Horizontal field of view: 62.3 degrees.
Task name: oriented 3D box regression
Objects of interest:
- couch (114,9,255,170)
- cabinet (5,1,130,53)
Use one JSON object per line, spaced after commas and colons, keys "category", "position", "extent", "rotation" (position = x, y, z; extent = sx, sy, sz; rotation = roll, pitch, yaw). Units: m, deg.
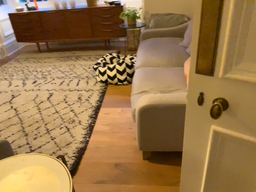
{"category": "couch", "position": [0.540, -0.330, 2.240], "extent": [1.040, 0.750, 2.100], "rotation": [-1, 30, 5]}
{"category": "cabinet", "position": [-1.070, -1.300, 4.050], "extent": [2.150, 0.780, 0.470], "rotation": [0, 30, 6]}
